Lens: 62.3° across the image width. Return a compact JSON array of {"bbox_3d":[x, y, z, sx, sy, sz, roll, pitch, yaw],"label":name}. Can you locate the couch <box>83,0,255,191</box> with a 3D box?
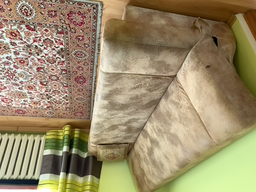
[{"bbox_3d":[0.100,0.300,2.020,0.960,0.860,2.080,4,146,-9],"label":"couch"}]
